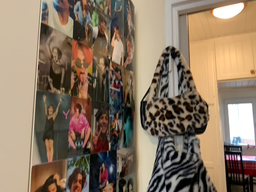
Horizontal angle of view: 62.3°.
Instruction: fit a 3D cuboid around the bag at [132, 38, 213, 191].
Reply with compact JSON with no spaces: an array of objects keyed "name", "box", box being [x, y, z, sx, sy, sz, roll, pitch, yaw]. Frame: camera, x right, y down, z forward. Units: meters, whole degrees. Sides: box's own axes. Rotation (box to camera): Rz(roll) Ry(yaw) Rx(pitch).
[{"name":"bag","box":[0.160,0.140,0.800,0.270,0.670,0.100,-4,-9,25]}]
